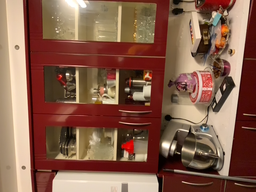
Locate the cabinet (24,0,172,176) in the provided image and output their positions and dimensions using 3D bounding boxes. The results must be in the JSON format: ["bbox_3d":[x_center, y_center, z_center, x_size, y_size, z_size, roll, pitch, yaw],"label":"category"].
[{"bbox_3d":[-0.190,-0.300,1.520,0.430,0.870,1.630,-93,6,-79],"label":"cabinet"}]
